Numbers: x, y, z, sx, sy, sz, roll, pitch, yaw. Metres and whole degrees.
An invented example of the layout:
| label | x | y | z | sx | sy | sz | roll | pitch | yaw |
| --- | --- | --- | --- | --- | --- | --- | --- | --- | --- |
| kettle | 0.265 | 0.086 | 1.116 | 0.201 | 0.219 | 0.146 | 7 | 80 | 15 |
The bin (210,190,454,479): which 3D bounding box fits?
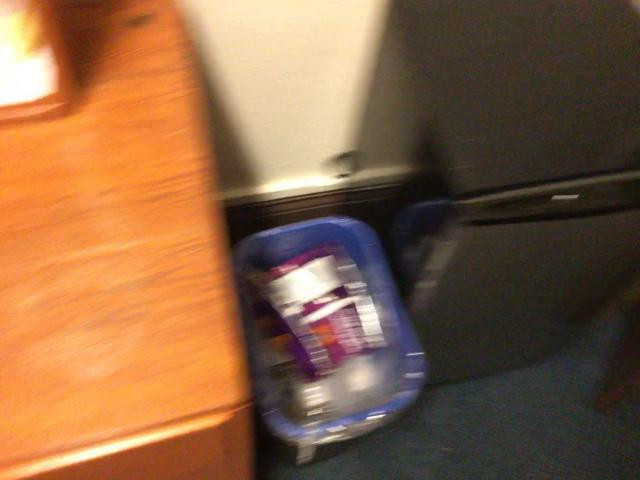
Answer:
| label | x | y | z | sx | sy | sz | roll | pitch | yaw |
| --- | --- | --- | --- | --- | --- | --- | --- | --- | --- |
| bin | -0.010 | 0.200 | 1.080 | 0.290 | 0.370 | 0.400 | -11 | 58 | -12 |
